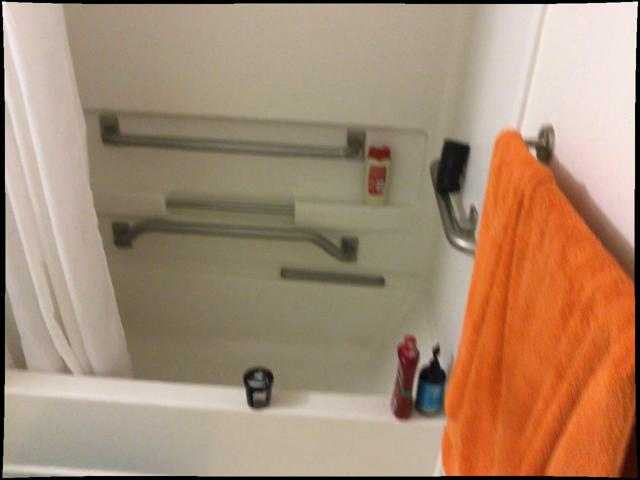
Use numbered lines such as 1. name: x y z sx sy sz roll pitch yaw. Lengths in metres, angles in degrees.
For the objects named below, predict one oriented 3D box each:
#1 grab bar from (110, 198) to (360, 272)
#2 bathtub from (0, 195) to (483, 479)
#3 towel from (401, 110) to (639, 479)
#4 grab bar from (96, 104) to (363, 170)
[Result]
1. grab bar: -0.290 -0.020 2.040 0.849 0.140 0.130 5 28 1
2. bathtub: -0.320 0.340 1.850 1.419 0.590 0.750 5 28 1
3. towel: 0.290 0.240 0.880 0.190 0.681 0.710 5 28 1
4. grab bar: -0.290 -0.340 1.900 0.849 0.110 0.110 5 28 1
